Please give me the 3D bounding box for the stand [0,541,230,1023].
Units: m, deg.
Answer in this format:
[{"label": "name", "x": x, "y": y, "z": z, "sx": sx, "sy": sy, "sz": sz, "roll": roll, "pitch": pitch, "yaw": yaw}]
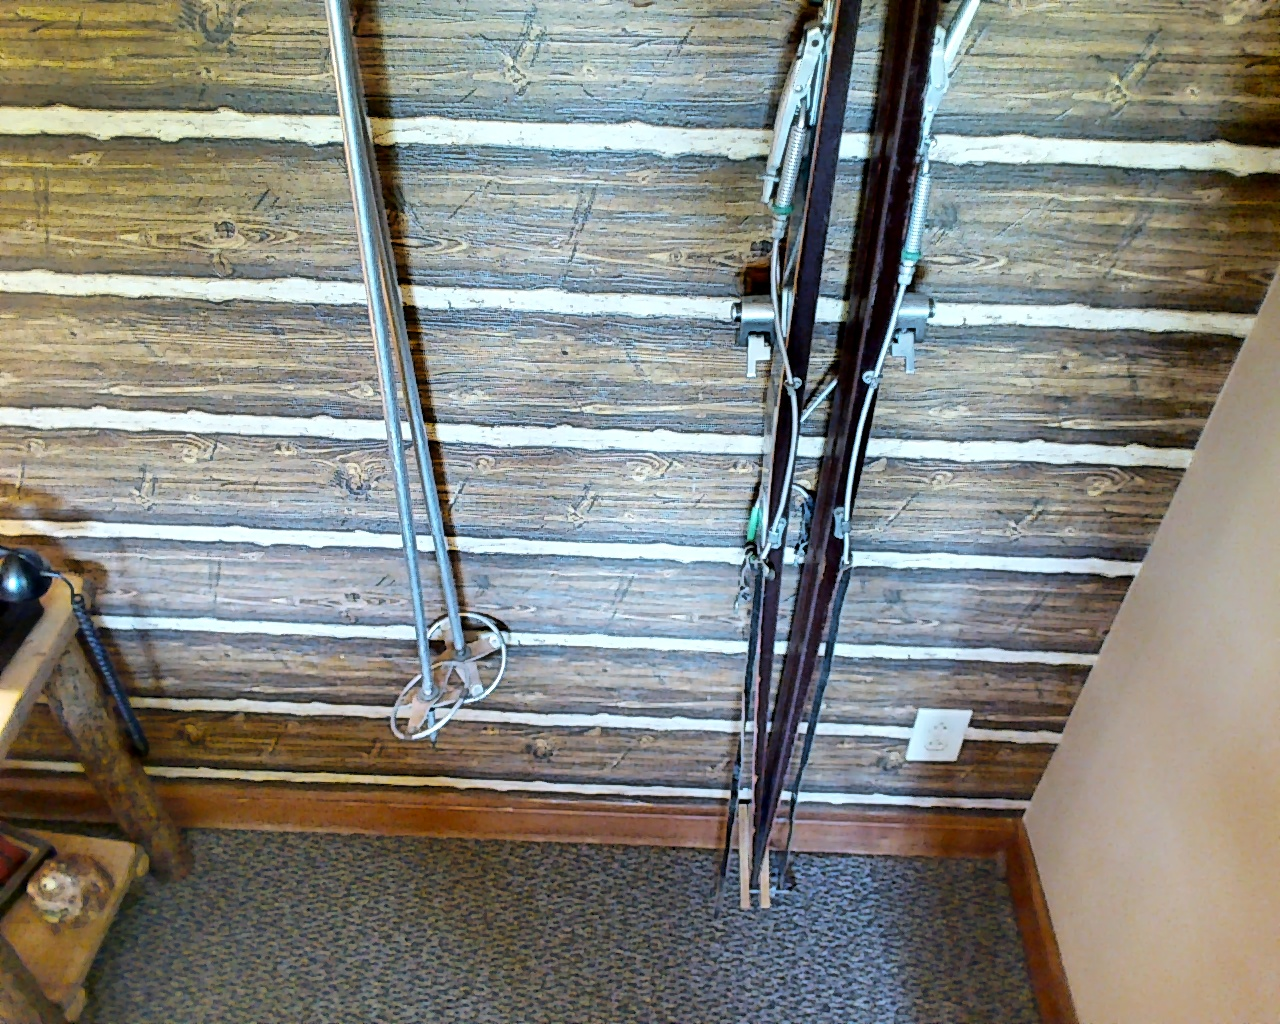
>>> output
[{"label": "stand", "x": -0.980, "y": 0.410, "z": 1.400, "sx": 0.610, "sy": 0.610, "sz": 0.450, "roll": 2, "pitch": 42, "yaw": 1}]
